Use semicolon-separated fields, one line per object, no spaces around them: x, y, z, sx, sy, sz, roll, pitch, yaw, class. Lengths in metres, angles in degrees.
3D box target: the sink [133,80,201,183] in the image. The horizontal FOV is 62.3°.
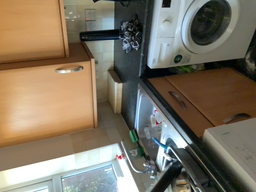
0.230;0.240;1.500;0.440;0.210;0.530;-124;31;-50;sink
